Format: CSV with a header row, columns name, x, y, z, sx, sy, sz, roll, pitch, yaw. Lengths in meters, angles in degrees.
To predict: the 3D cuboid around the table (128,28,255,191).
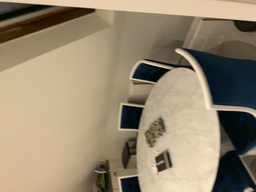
name,x,y,z,sx,sy,sz,roll,pitch,yaw
table,0.630,0.450,1.980,1.670,0.740,1.160,109,155,-52
